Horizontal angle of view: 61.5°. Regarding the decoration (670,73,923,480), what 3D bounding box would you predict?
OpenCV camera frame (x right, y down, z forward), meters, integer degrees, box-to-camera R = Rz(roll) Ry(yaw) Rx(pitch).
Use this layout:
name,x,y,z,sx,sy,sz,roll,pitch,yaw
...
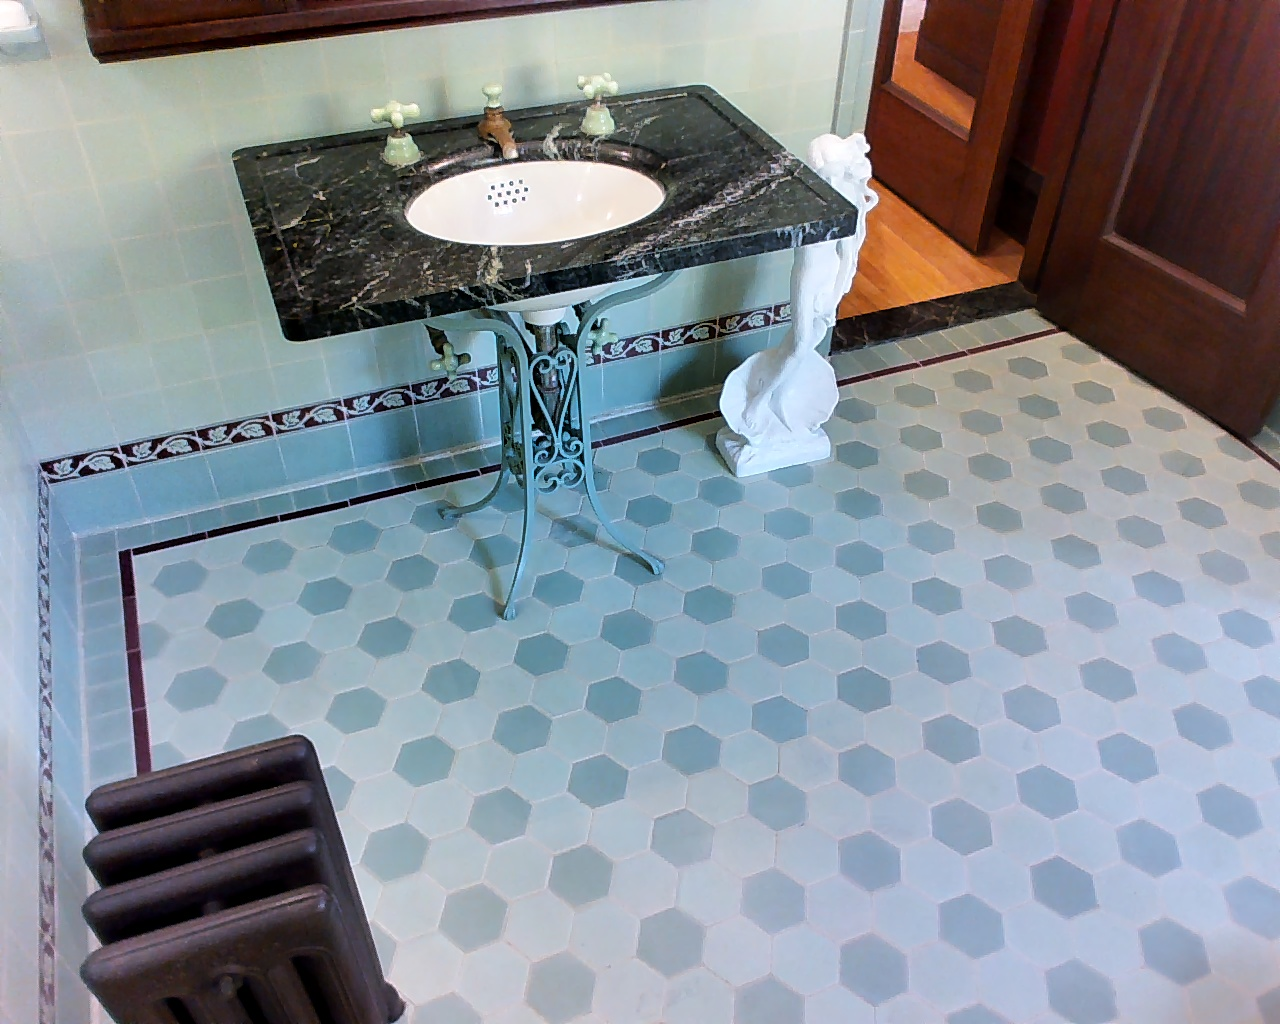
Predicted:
name,x,y,z,sx,sy,sz,roll,pitch,yaw
decoration,0.310,-0.510,2.390,0.340,0.750,0.370,-15,44,-17
